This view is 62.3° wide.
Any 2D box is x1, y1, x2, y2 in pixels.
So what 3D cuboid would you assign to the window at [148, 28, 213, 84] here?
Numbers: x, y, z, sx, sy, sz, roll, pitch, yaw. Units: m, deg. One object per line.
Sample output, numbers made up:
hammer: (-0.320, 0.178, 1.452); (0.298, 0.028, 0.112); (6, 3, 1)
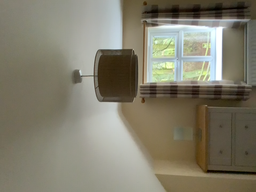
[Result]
window: (0.770, -0.600, 3.180); (0.060, 0.940, 0.820); (36, -125, -83)
